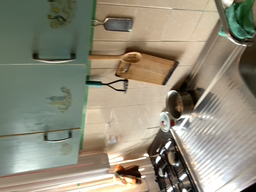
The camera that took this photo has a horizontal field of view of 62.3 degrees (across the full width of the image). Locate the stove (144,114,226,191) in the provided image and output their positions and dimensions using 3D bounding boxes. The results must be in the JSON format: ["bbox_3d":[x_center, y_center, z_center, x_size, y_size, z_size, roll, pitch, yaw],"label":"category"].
[{"bbox_3d":[0.360,0.540,1.530,0.520,0.170,0.610,107,151,-46],"label":"stove"}]

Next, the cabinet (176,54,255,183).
[{"bbox_3d":[0.820,0.080,1.230,0.390,0.830,0.540,107,151,-46],"label":"cabinet"}]
